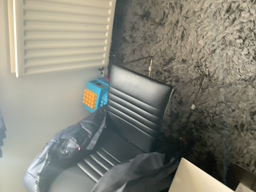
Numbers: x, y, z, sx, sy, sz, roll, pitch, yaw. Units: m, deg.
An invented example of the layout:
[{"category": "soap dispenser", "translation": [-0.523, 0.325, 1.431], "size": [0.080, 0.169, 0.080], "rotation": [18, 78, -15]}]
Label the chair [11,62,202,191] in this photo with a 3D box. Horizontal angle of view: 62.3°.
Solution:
[{"category": "chair", "translation": [-0.040, 0.150, 1.170], "size": [0.380, 0.980, 0.540], "rotation": [27, 116, 34]}]
